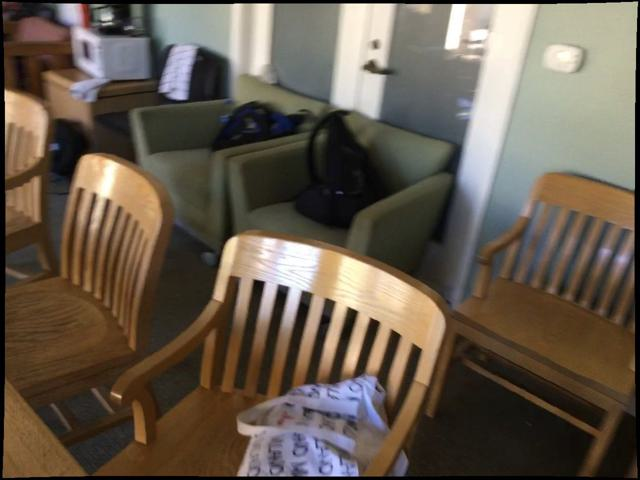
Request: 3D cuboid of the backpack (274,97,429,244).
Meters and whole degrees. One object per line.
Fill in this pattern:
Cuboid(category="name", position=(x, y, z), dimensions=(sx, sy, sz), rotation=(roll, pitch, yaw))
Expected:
Cuboid(category="backpack", position=(0.120, -0.310, 2.400), dimensions=(0.440, 0.400, 0.420), rotation=(28, 36, 34))
